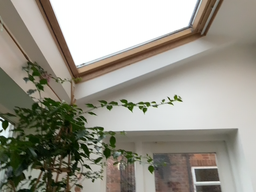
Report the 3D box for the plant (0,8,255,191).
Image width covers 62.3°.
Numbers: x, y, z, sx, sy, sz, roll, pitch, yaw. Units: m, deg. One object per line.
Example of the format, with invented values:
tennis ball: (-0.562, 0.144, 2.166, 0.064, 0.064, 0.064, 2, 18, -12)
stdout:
plant: (-0.160, 0.860, 0.860, 1.300, 2.140, 1.070, -1, -24, -1)
